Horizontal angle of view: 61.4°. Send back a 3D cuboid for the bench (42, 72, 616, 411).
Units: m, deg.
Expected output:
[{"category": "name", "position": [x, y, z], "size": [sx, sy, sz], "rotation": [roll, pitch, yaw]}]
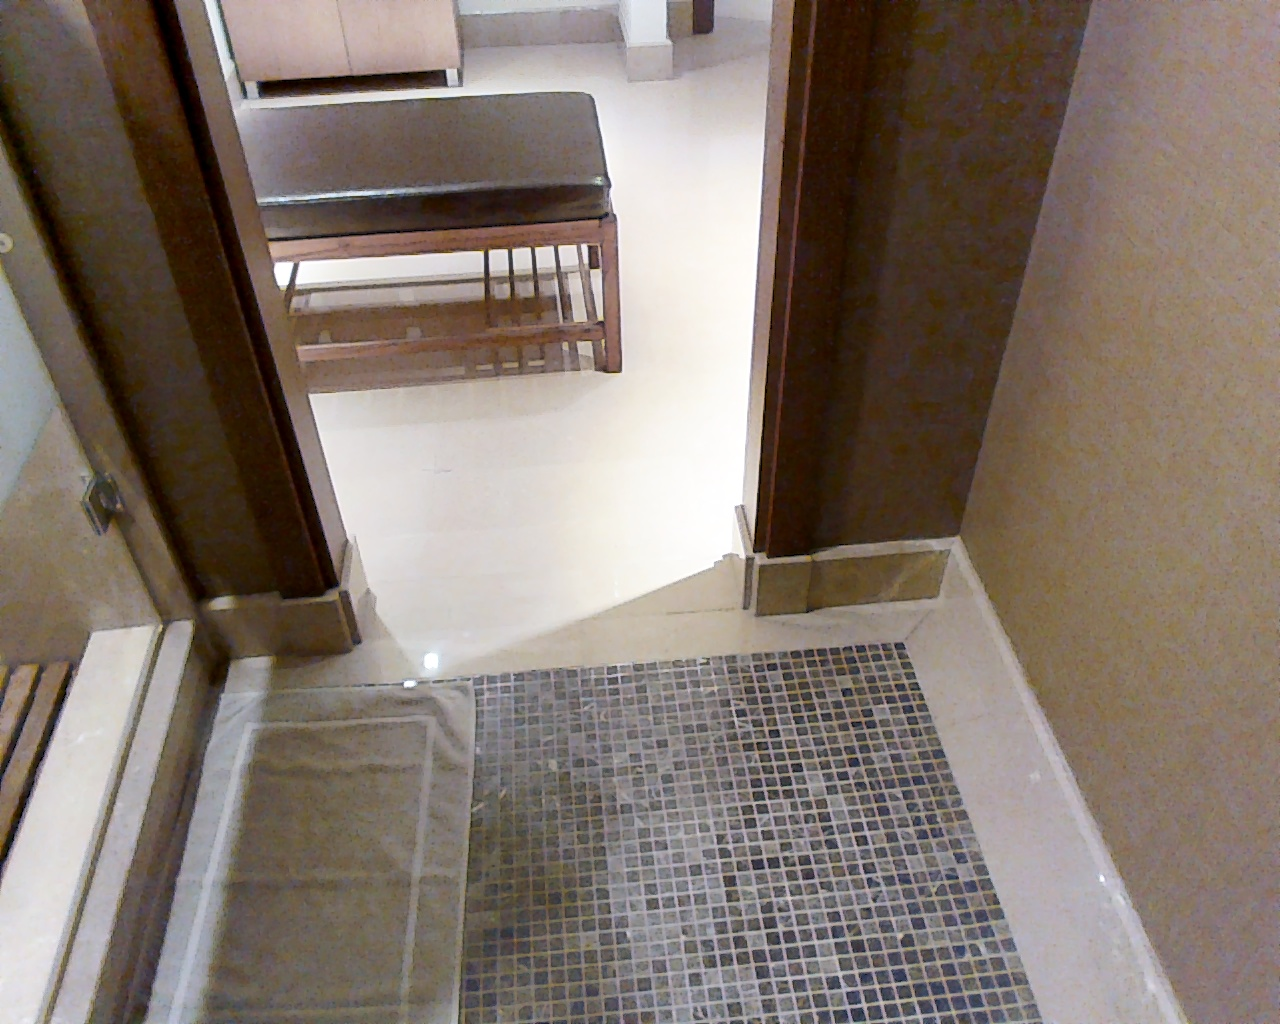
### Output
[{"category": "bench", "position": [-0.730, -0.730, 2.850], "size": [1.260, 0.560, 0.630], "rotation": [-5, 43, -5]}]
